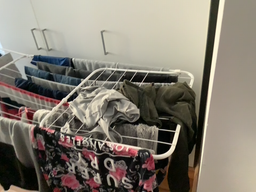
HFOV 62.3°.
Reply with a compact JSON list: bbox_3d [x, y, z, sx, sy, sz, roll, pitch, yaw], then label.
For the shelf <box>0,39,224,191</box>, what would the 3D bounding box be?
[{"bbox_3d":[-0.250,0.310,1.230,1.310,1.000,0.720,9,36,21],"label":"shelf"}]
